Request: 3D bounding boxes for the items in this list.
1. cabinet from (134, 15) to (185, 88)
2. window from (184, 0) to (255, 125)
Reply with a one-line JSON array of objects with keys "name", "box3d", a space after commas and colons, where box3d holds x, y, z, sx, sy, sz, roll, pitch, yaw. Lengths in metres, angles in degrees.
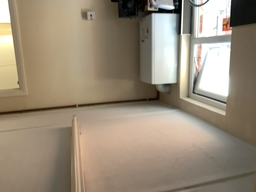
[{"name": "cabinet", "box3d": [0.340, -0.520, 2.520, 0.410, 0.750, 0.540, -4, -168, -13]}, {"name": "window", "box3d": [0.800, -0.460, 1.940, 0.170, 1.260, 0.730, -4, -168, -15]}]
